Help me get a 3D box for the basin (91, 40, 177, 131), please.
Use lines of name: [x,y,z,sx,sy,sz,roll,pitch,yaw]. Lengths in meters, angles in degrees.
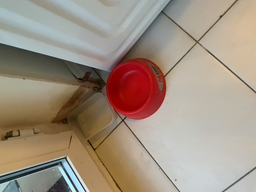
basin: [0.010,-0.030,0.670,0.220,0.040,0.180,-45,69,19]
